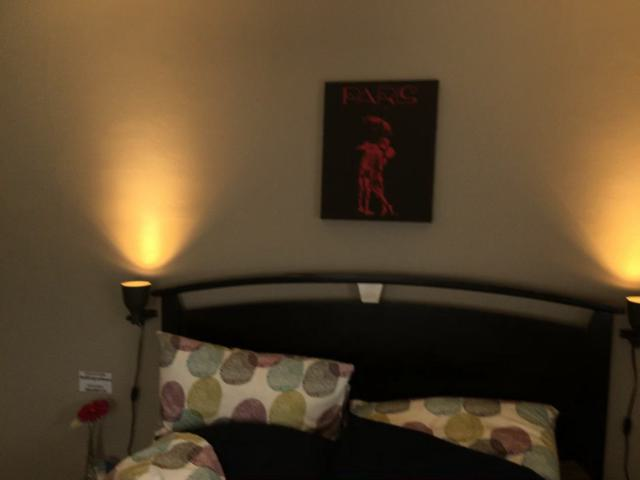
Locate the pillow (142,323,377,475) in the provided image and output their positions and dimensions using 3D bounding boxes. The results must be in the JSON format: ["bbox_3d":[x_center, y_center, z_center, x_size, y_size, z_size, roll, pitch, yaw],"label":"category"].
[{"bbox_3d":[-0.210,0.540,2.050,0.790,0.410,0.230,2,2,11],"label":"pillow"}]

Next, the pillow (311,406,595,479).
[{"bbox_3d":[0.360,0.670,1.580,0.670,0.200,0.570,2,2,11],"label":"pillow"}]

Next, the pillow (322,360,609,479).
[{"bbox_3d":[0.440,0.600,1.870,0.800,0.280,0.400,2,2,11],"label":"pillow"}]
